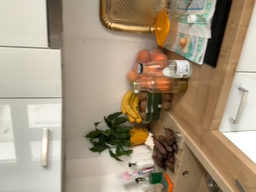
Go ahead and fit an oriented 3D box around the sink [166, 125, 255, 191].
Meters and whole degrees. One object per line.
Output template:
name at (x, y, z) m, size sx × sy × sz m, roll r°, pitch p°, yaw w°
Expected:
sink at (0.370, 0.430, 0.970) m, size 0.380 × 0.190 × 0.450 m, roll -121°, pitch 34°, yaw -62°
